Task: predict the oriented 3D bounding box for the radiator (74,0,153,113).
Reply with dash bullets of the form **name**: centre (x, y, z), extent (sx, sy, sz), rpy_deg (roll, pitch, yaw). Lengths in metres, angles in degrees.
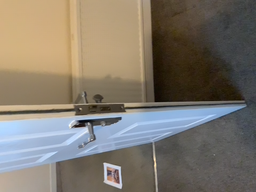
- **radiator**: centre (-0.090, -0.690, 1.420), extent (0.060, 0.570, 1.570), rpy_deg (-6, 85, 49)
